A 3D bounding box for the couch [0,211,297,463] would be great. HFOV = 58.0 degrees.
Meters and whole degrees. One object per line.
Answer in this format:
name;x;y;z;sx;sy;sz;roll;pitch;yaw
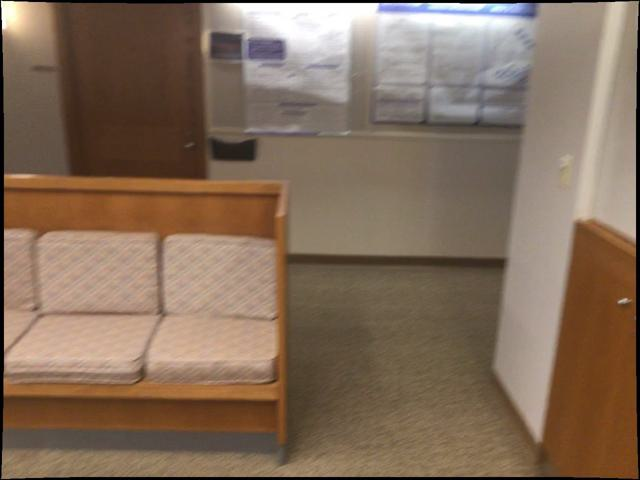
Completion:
couch;-0.998;0.351;2.350;1.756;0.772;0.580;4;16;-2
